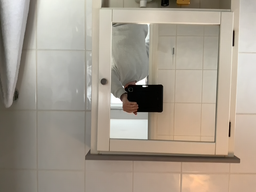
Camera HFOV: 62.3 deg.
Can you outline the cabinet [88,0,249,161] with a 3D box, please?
[{"bbox_3d":[0.140,-0.130,0.820,0.560,0.720,0.130,1,-177,1],"label":"cabinet"}]
